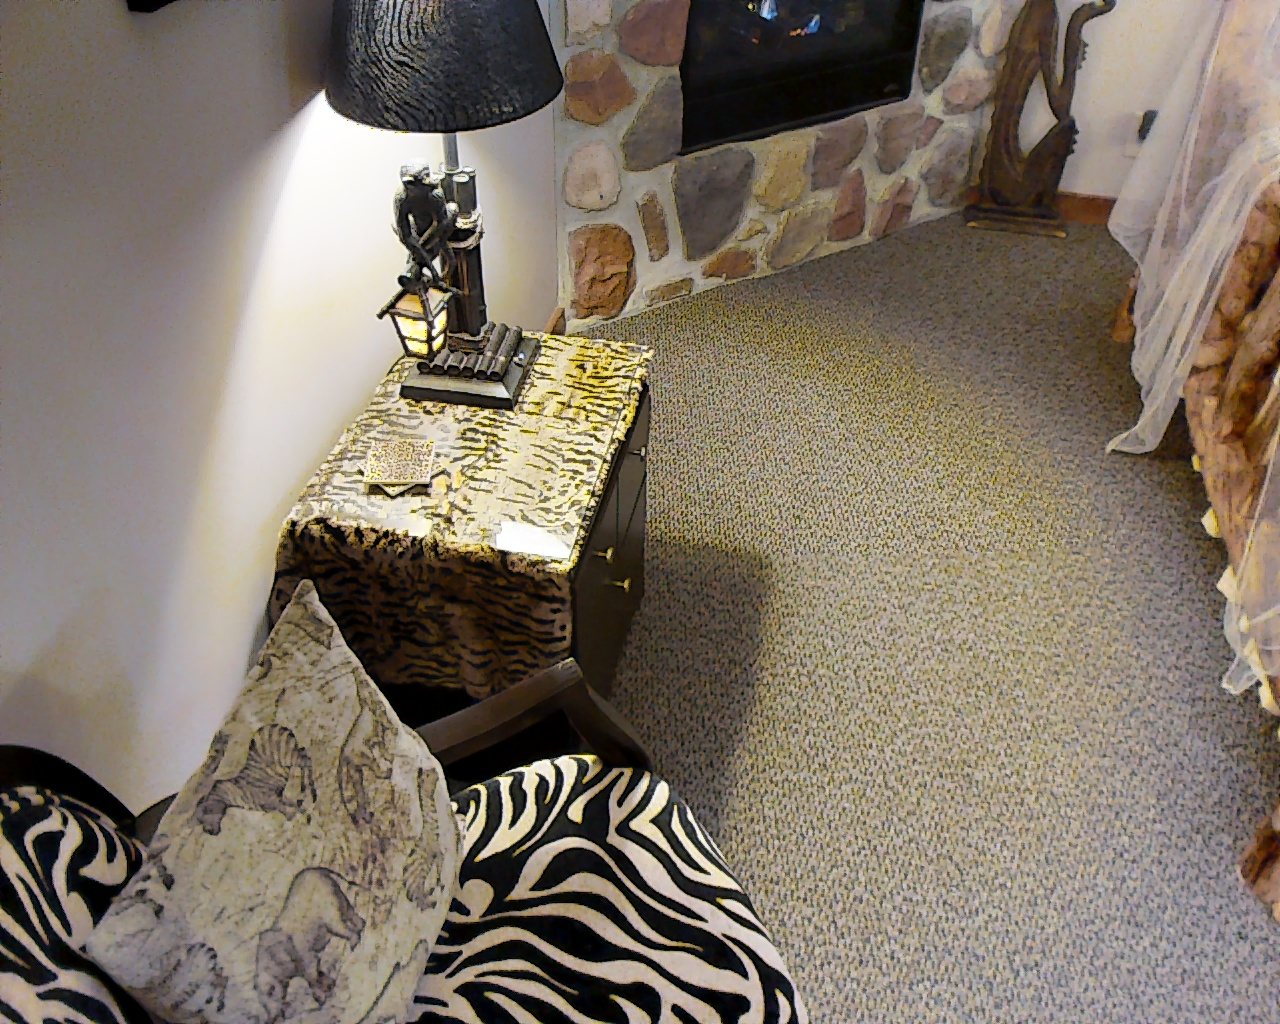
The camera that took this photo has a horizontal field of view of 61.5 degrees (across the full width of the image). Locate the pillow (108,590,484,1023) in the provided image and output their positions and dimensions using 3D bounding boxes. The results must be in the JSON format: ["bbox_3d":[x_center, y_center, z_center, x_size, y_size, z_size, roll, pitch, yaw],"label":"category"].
[{"bbox_3d":[-0.300,0.350,1.040,0.130,0.390,0.460,10,19,8],"label":"pillow"}]

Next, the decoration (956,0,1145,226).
[{"bbox_3d":[1.220,-1.340,3.160,0.360,0.960,0.140,10,42,8],"label":"decoration"}]

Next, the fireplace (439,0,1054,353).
[{"bbox_3d":[0.350,-1.410,2.860,1.680,1.500,0.520,-22,47,-25],"label":"fireplace"}]
